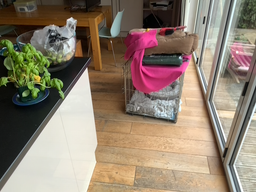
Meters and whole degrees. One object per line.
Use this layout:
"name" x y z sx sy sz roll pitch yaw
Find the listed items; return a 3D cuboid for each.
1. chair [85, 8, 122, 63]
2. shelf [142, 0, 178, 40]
"chair" -0.360 -0.960 3.360 0.510 0.720 0.460 -2 33 -2
"shelf" 0.620 -1.840 4.040 0.630 1.420 0.340 4 34 7
